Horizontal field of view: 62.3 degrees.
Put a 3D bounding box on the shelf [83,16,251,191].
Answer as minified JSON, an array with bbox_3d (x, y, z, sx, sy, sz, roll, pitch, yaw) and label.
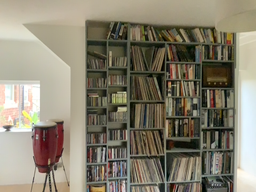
[{"bbox_3d":[0.520,0.280,2.870,2.170,2.500,0.380,0,1,-6],"label":"shelf"}]

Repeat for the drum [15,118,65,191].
[{"bbox_3d":[-1.360,0.980,3.410,0.500,1.140,0.890,0,1,-6],"label":"drum"}]
